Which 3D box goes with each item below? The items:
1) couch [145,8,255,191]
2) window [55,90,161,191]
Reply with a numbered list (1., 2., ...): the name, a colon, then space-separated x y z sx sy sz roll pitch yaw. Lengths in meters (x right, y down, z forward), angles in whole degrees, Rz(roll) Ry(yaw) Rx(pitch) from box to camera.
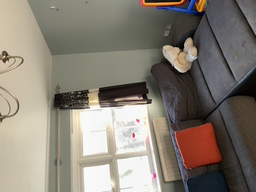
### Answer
1. couch: 0.910 0.450 2.410 1.090 0.830 2.790 98 165 -63
2. window: -0.320 0.800 3.050 0.160 1.370 1.740 101 163 -67
